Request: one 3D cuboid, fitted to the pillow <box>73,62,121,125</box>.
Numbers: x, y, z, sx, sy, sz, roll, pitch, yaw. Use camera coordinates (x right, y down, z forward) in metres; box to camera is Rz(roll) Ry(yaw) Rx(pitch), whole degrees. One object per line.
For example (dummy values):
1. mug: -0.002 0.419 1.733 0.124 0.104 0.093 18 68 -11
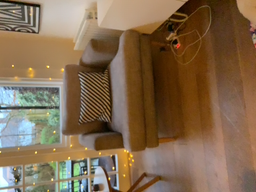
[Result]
1. pillow: -0.300 -0.020 2.060 0.130 0.330 0.540 56 -160 -82
